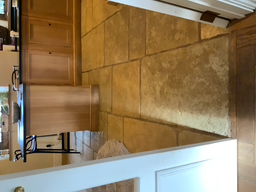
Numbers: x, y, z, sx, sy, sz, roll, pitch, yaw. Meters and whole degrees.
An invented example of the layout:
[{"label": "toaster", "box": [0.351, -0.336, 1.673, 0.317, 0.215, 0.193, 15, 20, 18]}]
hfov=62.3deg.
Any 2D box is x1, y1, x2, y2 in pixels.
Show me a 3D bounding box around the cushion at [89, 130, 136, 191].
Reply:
[{"label": "cushion", "box": [-0.230, 0.980, 2.440, 0.990, 0.090, 0.990, 7, 96, 59]}]
